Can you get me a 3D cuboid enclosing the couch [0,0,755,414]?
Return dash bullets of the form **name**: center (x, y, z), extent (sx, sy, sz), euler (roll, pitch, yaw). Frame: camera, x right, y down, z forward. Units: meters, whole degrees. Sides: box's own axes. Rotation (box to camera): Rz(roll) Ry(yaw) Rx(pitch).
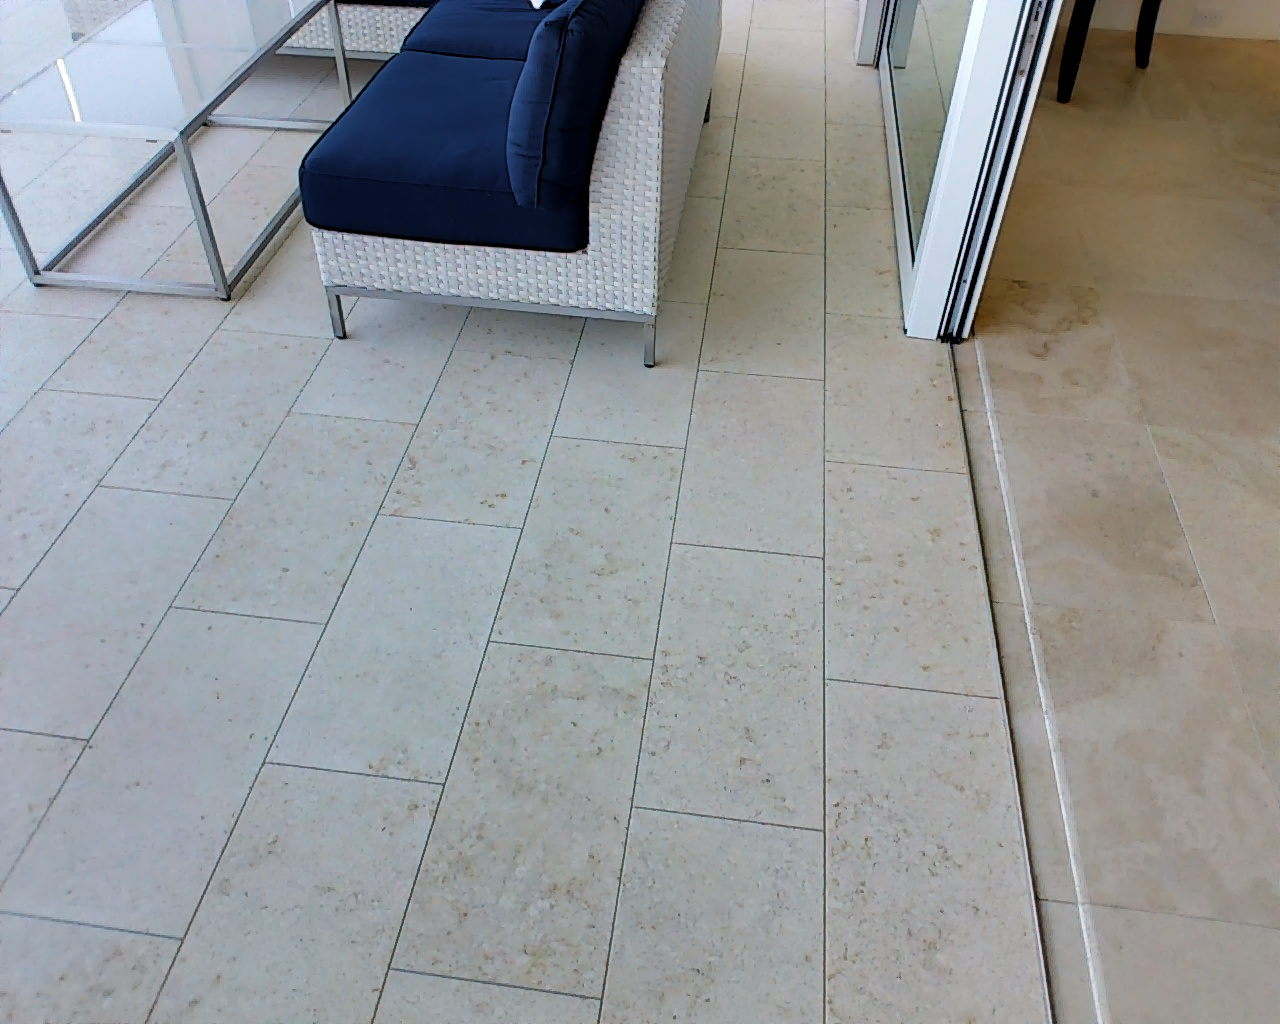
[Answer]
- **couch**: center (-0.900, -1.550, 3.350), extent (2.420, 0.880, 2.580), euler (6, 43, 5)
